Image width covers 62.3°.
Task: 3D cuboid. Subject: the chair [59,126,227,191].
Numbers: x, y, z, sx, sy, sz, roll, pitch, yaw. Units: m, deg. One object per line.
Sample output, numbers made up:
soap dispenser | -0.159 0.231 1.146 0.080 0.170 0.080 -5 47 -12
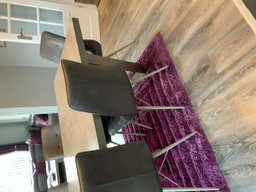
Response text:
chair | 0.080 0.540 1.410 0.490 0.910 0.420 -53 47 48

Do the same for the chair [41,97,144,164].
chair | -0.400 0.350 2.260 0.530 0.900 0.440 -51 49 49

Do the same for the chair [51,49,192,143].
chair | -0.080 0.010 1.670 0.550 0.890 0.420 -53 47 48
